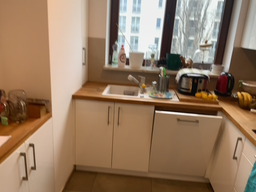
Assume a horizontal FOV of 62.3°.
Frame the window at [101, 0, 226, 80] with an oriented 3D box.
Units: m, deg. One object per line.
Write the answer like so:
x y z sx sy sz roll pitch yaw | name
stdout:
0.420 -1.070 2.590 1.420 1.650 0.210 4 17 -1 | window
